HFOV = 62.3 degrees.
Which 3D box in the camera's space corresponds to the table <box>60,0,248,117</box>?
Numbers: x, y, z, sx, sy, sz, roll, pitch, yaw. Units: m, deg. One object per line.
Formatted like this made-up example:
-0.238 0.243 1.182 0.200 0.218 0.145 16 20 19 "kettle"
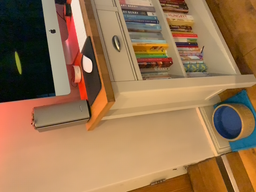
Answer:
0.100 -0.400 1.250 0.350 0.850 0.880 -45 55 58 "table"
